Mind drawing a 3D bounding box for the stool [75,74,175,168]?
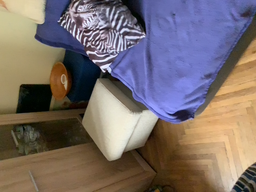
[{"bbox_3d":[-0.040,0.150,1.560,0.430,0.450,0.450,43,122,36],"label":"stool"}]
